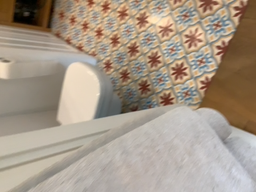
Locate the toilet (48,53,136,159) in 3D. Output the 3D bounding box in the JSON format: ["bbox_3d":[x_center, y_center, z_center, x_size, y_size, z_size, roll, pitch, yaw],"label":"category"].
[{"bbox_3d":[-0.260,0.050,1.410,0.380,0.290,0.540,35,116,34],"label":"toilet"}]
